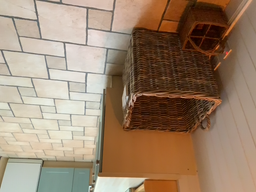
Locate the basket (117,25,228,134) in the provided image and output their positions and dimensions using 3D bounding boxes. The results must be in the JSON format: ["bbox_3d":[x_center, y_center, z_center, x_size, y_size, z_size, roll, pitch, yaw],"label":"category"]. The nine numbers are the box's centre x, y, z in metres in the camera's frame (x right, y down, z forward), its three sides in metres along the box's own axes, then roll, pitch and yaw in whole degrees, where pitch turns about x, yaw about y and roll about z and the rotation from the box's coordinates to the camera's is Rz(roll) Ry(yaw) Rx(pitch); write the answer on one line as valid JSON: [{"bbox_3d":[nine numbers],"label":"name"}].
[{"bbox_3d":[0.260,-0.090,1.640,0.590,0.540,0.590,6,147,-11],"label":"basket"}]
